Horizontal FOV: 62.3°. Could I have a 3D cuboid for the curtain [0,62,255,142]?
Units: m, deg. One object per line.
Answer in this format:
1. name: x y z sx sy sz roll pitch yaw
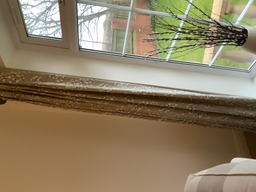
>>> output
1. curtain: 0.080 0.080 1.630 0.400 2.280 0.170 105 170 -50
